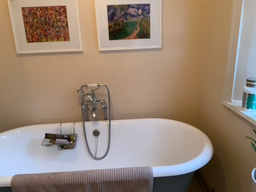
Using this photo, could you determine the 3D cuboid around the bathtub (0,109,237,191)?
[{"bbox_3d":[-0.260,0.620,1.640,1.710,0.670,0.850,-3,18,-3],"label":"bathtub"}]
